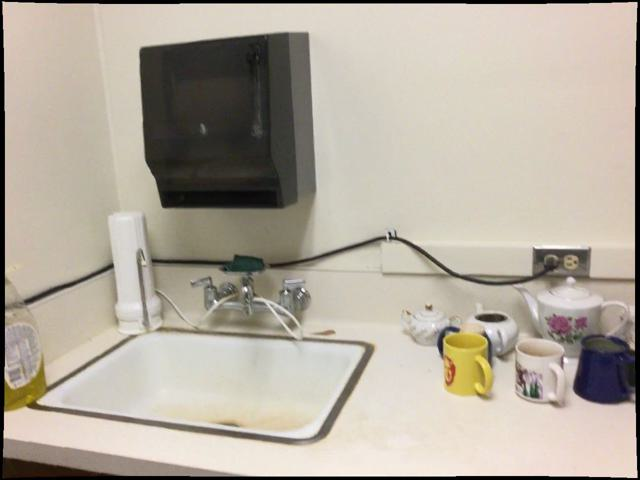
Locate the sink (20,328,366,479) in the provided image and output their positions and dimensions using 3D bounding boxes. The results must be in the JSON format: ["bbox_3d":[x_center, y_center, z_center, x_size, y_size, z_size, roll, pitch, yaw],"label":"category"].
[{"bbox_3d":[-0.239,0.391,1.290,0.579,0.190,0.480,1,13,18],"label":"sink"}]
